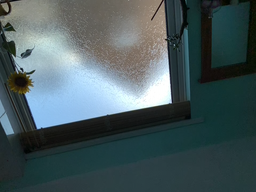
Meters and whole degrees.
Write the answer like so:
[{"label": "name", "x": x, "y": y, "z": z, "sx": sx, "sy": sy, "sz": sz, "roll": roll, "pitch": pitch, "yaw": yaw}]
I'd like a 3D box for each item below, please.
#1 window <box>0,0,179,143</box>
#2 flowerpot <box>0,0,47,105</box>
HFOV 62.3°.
[{"label": "window", "x": -0.200, "y": -0.270, "z": 1.390, "sx": 0.990, "sy": 0.990, "sz": 0.200, "roll": -12, "pitch": -157, "yaw": -7}, {"label": "flowerpot", "x": -0.680, "y": -0.310, "z": 1.240, "sx": 0.190, "sy": 0.670, "sz": 0.220, "roll": -13, "pitch": -157, "yaw": -8}]
